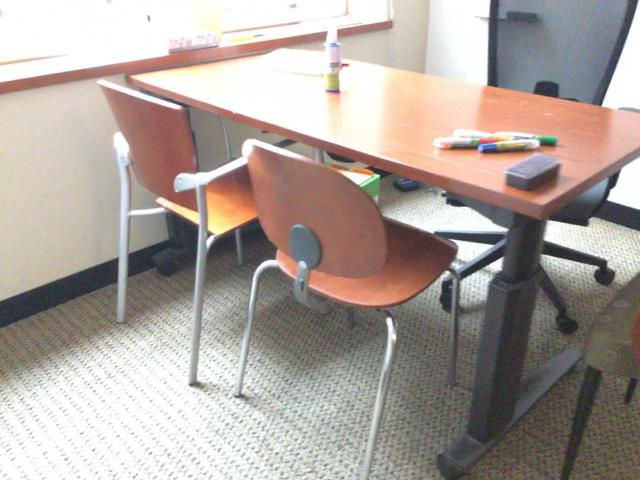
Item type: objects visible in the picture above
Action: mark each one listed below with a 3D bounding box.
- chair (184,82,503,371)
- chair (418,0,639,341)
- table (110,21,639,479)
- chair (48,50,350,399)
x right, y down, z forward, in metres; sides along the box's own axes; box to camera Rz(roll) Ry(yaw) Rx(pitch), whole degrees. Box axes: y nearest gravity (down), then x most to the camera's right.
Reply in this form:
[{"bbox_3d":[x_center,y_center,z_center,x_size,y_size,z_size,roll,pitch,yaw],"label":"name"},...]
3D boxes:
[{"bbox_3d":[0.060,-0.090,1.460,0.560,0.440,0.500,-24,35,-35],"label":"chair"},{"bbox_3d":[0.720,-0.300,1.930,0.710,1.010,0.660,3,28,10],"label":"chair"},{"bbox_3d":[0.140,-0.120,1.840,0.850,0.880,1.490,-24,35,-35],"label":"table"},{"bbox_3d":[-0.350,-0.110,1.860,0.610,0.810,0.650,-24,35,-35],"label":"chair"}]
